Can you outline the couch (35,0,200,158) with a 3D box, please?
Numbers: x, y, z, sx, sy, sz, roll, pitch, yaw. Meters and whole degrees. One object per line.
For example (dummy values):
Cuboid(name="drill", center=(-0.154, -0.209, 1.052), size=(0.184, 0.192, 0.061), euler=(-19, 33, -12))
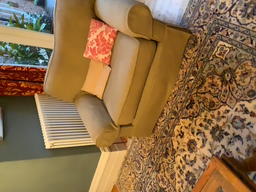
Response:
Cuboid(name="couch", center=(-0.260, -0.310, 2.040), size=(1.120, 0.900, 1.230), euler=(45, 124, 49))
